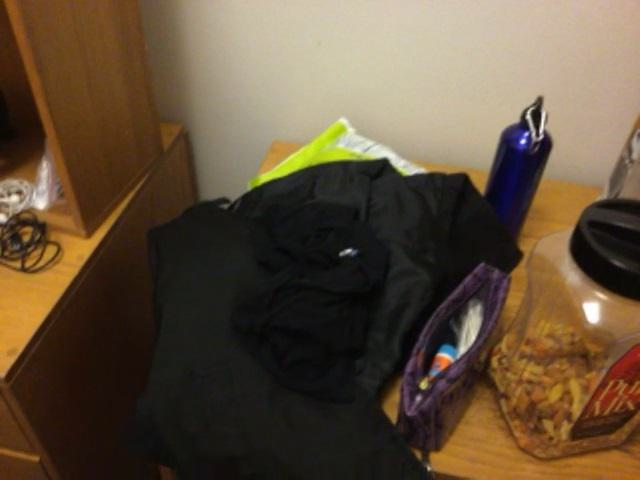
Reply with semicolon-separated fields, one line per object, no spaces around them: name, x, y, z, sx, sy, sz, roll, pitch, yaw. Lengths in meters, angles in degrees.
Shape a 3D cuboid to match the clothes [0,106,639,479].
clothes;0.060;0.100;0.790;0.700;0.250;0.570;9;41;9
